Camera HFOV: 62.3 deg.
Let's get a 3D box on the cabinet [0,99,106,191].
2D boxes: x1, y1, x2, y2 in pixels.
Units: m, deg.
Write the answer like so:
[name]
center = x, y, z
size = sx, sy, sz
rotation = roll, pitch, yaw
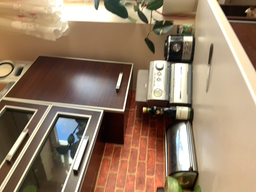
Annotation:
[cabinet]
center = -0.490, 0.460, 0.980
size = 0.900, 0.590, 0.340
rotation = -79, -8, -49
